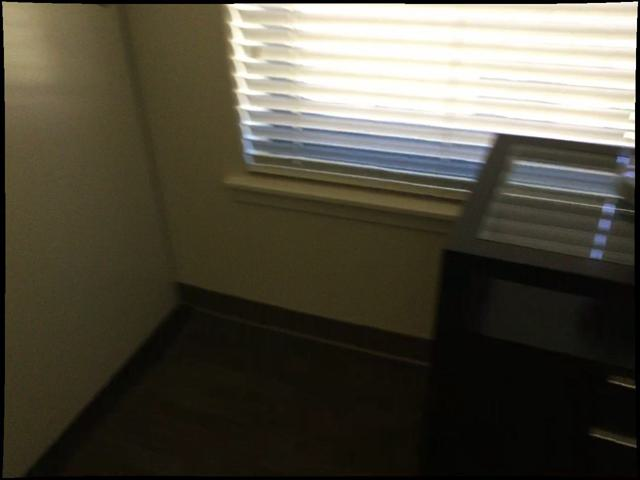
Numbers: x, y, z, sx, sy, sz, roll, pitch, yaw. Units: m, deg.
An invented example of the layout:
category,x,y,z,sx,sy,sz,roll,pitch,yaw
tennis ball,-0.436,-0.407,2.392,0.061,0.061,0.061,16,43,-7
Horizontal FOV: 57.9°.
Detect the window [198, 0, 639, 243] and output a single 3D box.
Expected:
category,x,y,z,sx,sy,sz,roll,pitch,yaw
window,0.290,-0.440,1.300,1.199,0.811,0.120,10,36,18
